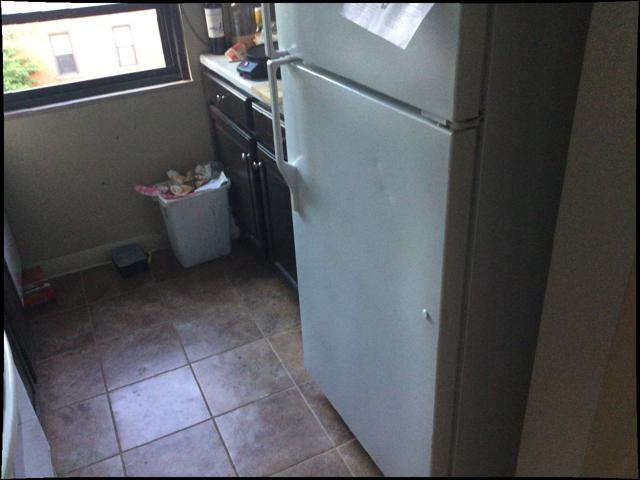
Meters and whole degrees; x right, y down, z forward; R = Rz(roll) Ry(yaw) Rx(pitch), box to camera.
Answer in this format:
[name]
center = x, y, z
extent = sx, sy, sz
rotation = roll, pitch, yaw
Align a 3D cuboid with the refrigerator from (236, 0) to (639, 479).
[refrigerator]
center = 0.369, -0.221, 1.430
extent = 0.829, 1.673, 0.790
rotation = -19, 35, -20
